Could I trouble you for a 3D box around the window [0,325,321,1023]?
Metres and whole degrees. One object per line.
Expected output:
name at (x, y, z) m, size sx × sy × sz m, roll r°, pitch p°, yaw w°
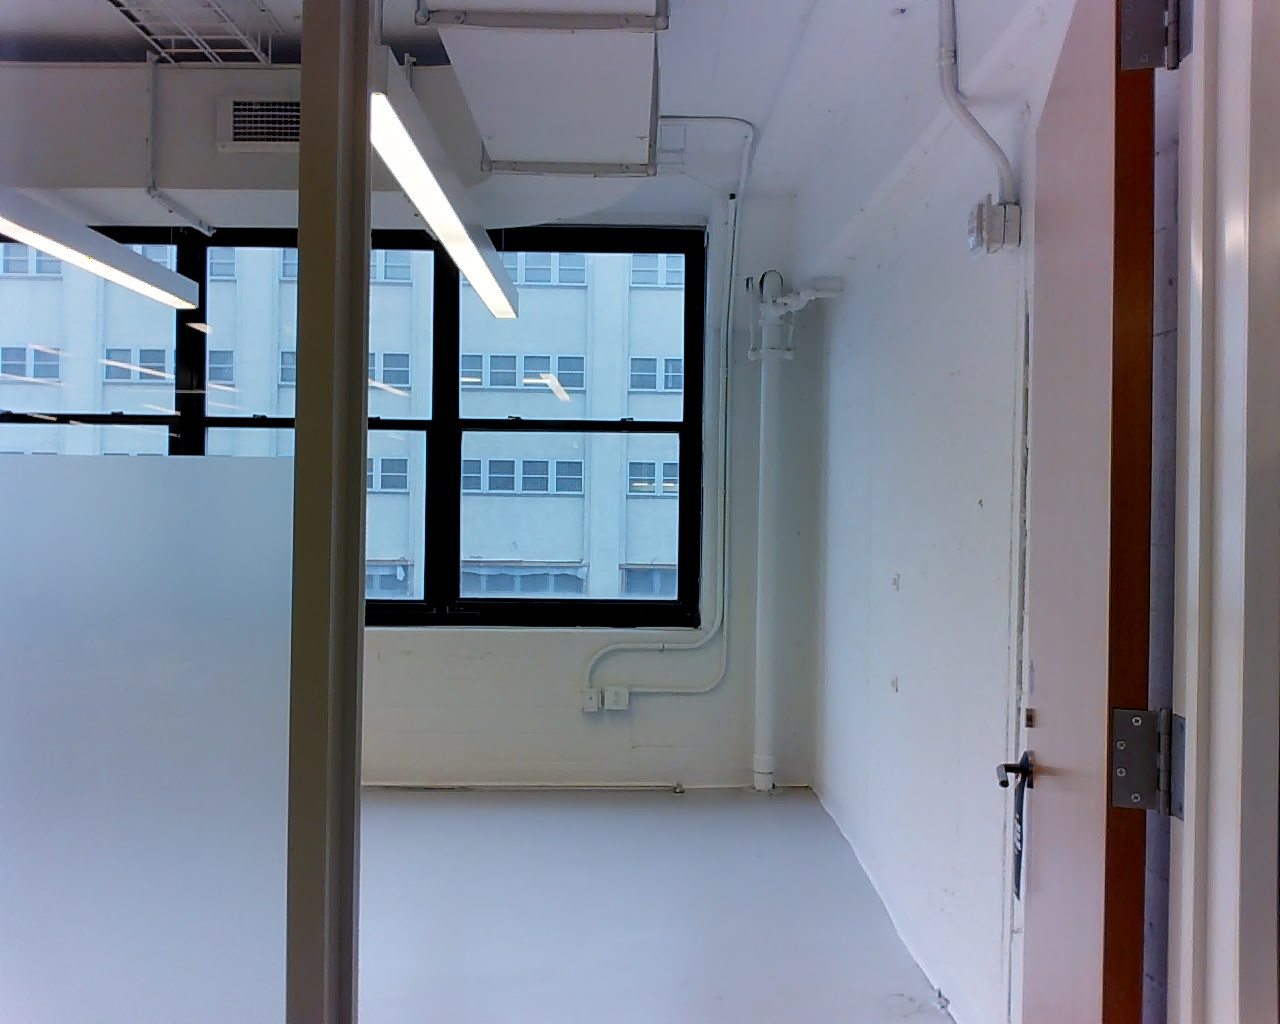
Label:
window at (-0.580, 0.270, 1.140) m, size 0.460 × 0.930 × 0.030 m, roll 1°, pitch 0°, yaw -1°
